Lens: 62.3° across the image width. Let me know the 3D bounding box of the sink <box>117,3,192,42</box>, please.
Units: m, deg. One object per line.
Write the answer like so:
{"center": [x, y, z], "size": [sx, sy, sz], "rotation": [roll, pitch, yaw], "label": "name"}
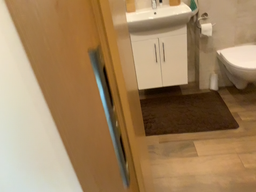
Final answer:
{"center": [0.230, -0.690, 1.960], "size": [0.610, 0.160, 0.440], "rotation": [-7, 30, 7], "label": "sink"}
